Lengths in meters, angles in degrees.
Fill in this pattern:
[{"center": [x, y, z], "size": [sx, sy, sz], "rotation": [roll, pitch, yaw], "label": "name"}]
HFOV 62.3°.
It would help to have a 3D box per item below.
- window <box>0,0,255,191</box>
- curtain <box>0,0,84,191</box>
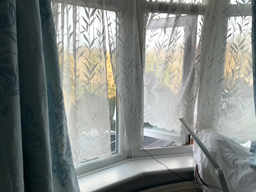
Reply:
[{"center": [-0.180, -0.140, 0.610], "size": [0.840, 1.580, 2.420], "rotation": [8, 12, 38], "label": "window"}, {"center": [-0.360, -0.130, 0.680], "size": [0.180, 1.620, 0.480], "rotation": [3, 10, 17], "label": "curtain"}]
